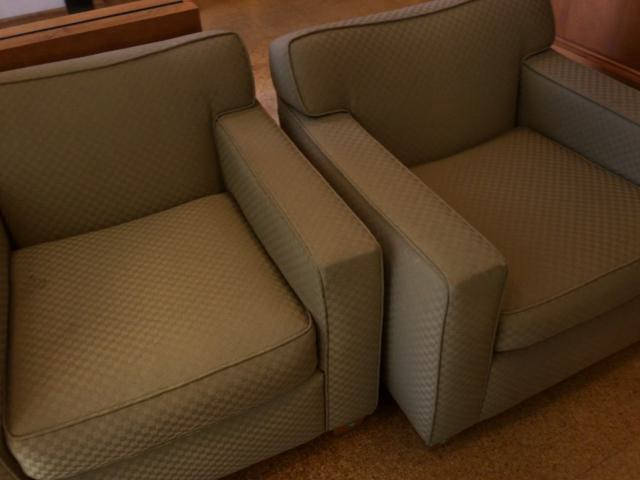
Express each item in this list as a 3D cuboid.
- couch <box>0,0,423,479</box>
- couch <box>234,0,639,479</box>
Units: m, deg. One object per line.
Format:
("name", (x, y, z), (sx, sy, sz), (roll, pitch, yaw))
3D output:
("couch", (-0.410, 0.060, 1.320), (0.930, 0.780, 0.890), (-18, 41, -14))
("couch", (0.410, -0.140, 1.480), (0.880, 0.770, 0.880), (-21, 41, -18))
